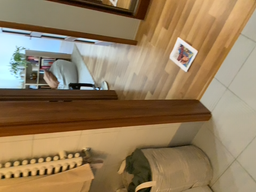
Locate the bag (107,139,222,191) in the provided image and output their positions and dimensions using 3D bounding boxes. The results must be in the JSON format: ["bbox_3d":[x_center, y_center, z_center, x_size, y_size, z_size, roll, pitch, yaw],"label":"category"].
[{"bbox_3d":[0.260,0.630,1.610,0.280,0.670,0.500,59,138,43],"label":"bag"}]
